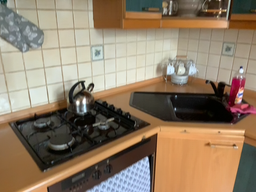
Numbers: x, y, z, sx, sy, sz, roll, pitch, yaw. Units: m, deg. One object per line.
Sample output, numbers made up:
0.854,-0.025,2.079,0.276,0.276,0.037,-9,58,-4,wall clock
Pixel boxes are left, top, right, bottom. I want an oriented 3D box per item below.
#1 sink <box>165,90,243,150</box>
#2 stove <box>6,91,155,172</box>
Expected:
0.460,0.130,1.430,0.350,0.170,0.530,2,21,3,sink
-0.260,0.120,1.140,0.590,0.030,0.550,-16,27,-38,stove
